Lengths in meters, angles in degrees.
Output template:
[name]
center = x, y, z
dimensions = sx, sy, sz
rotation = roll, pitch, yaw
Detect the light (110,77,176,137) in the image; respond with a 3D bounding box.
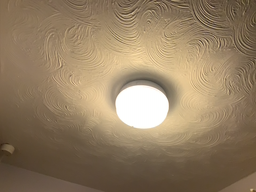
[light]
center = 0.050, 0.050, 0.830
dimensions = 0.220, 0.070, 0.220
rotation = 9, 134, 0
